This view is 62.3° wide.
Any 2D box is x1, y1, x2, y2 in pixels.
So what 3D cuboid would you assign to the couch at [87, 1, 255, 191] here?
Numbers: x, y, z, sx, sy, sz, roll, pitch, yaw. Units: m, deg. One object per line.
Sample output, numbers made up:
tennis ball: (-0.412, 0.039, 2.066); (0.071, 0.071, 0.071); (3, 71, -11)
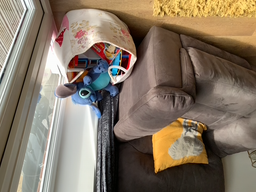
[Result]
couch: (0.440, 0.230, 1.530); (1.160, 0.960, 0.970); (14, 143, -24)
